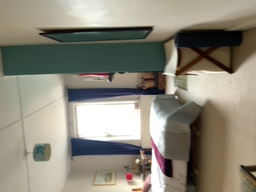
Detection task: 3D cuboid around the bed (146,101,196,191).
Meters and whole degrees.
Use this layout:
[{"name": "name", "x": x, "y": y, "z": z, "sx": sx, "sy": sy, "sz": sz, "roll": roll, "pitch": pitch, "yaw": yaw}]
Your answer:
[{"name": "bed", "x": 0.740, "y": 1.260, "z": 4.090, "sx": 1.580, "sy": 0.540, "sz": 2.120, "roll": -114, "pitch": 22, "yaw": -83}]
